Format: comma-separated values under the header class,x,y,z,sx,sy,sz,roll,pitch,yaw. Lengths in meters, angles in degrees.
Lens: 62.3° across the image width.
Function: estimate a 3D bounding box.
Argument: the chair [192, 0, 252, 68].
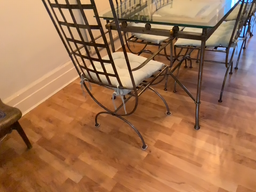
class,x,y,z,sx,sy,sz,roll,pitch,yaw
chair,0.890,-0.870,1.960,0.390,1.080,0.430,19,45,33
